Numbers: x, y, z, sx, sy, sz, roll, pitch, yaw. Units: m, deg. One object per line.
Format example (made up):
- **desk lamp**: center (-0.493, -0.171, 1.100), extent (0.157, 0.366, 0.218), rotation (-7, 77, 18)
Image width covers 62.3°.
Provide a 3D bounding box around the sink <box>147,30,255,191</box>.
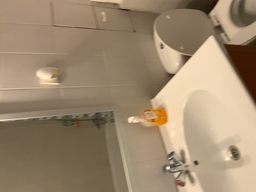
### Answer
- **sink**: center (0.370, 0.220, 0.830), extent (0.490, 0.200, 0.780), rotation (125, 137, -54)
